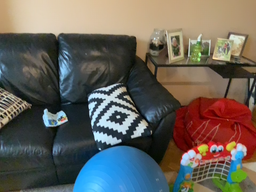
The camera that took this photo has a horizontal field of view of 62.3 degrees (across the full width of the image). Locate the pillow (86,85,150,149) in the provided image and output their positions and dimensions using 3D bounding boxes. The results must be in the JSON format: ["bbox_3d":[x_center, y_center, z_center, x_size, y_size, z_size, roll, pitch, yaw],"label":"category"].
[{"bbox_3d":[-0.110,0.110,1.520,0.370,0.150,0.580,-1,28,-11],"label":"pillow"}]
